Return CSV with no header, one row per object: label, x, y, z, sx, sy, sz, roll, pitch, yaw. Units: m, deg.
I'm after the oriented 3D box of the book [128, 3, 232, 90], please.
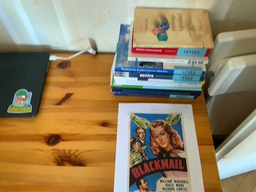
book,0.120,-0.130,0.580,0.230,0.160,0.150,4,58,3
